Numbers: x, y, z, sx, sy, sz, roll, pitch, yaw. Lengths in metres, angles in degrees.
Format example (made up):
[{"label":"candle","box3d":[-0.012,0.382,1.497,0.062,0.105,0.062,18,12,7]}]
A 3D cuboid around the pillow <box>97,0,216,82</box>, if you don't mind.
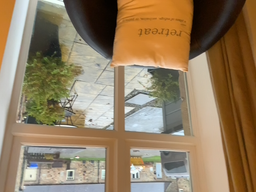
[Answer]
[{"label":"pillow","box3d":[0.120,-0.320,1.000,0.420,0.380,0.140,18,-168,-2]}]
